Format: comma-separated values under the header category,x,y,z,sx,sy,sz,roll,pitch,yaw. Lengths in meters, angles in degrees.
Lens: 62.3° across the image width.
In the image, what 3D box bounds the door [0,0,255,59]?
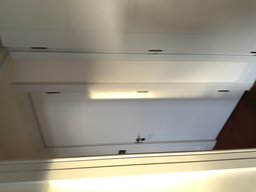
category,x,y,z,sx,sy,sz,roll,pitch,yaw
door,0.260,-0.610,1.230,0.040,2.060,0.880,-100,13,-47
